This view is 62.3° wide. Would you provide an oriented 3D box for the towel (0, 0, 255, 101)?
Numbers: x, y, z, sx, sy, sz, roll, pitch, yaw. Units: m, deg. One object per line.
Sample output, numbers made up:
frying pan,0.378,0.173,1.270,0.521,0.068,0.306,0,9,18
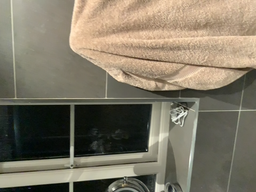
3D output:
towel,0.040,-0.200,0.680,0.180,1.300,0.400,-148,60,-72
